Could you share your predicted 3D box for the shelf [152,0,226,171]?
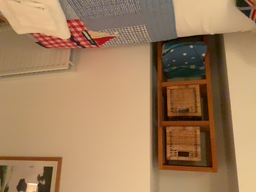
[{"bbox_3d":[0.450,-0.140,1.740,0.460,1.390,0.380,-1,164,12],"label":"shelf"}]
